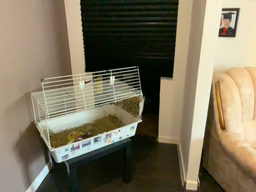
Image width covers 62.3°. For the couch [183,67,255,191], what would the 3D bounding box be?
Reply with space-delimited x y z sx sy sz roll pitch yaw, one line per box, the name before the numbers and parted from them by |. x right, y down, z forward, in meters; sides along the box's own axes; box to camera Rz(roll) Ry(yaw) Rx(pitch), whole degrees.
couch | 1.110 0.360 1.720 0.880 0.960 0.960 -4 22 -11
